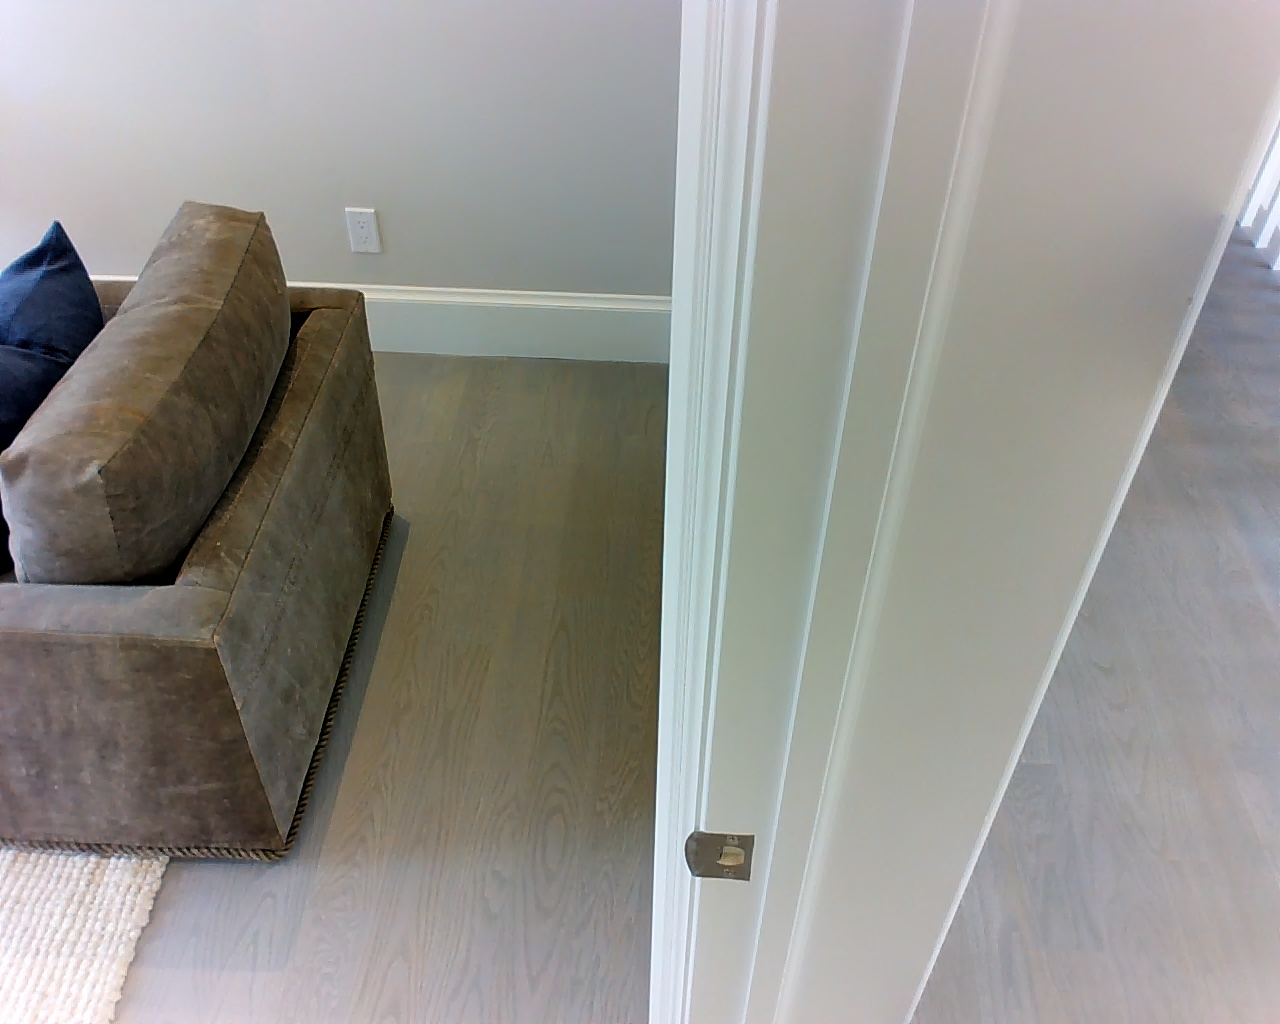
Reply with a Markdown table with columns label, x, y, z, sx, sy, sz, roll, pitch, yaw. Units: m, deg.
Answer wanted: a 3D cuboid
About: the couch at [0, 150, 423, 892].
| label | x | y | z | sx | sy | sz | roll | pitch | yaw |
| --- | --- | --- | --- | --- | --- | --- | --- | --- | --- |
| couch | -0.980 | -0.010 | 1.790 | 1.000 | 0.820 | 0.930 | 0 | 42 | -1 |
